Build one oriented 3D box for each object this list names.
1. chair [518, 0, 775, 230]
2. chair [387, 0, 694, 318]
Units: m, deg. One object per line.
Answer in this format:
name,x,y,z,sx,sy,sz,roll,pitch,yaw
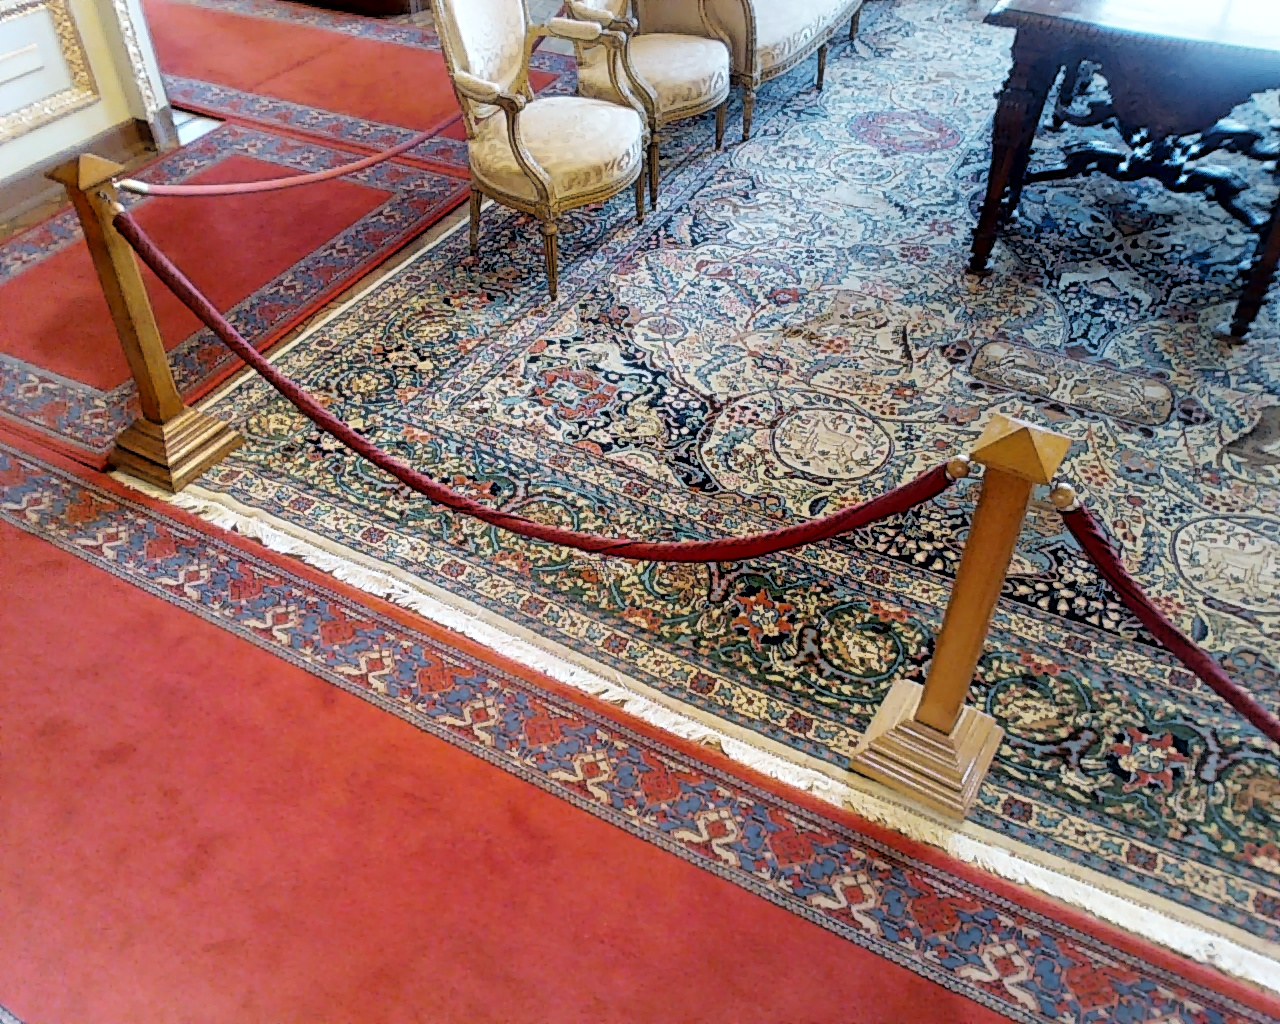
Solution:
chair,0.040,-1.590,3.660,0.610,0.910,0.680,19,46,20
chair,-0.260,-1.190,3.200,0.620,0.900,0.610,19,46,20
